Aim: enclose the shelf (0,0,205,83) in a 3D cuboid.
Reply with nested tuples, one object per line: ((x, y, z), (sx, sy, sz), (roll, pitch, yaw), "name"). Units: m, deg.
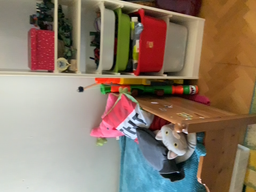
((-0.130, -0.380, 1.460), (0.340, 1.420, 0.520), (22, 110, 58), "shelf")
